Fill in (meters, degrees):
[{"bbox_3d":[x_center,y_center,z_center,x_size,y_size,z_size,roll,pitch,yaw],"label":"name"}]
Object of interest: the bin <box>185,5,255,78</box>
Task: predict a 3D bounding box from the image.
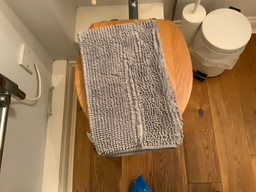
[{"bbox_3d":[0.410,-0.240,1.000,0.210,0.290,0.210,1,72,3],"label":"bin"}]
